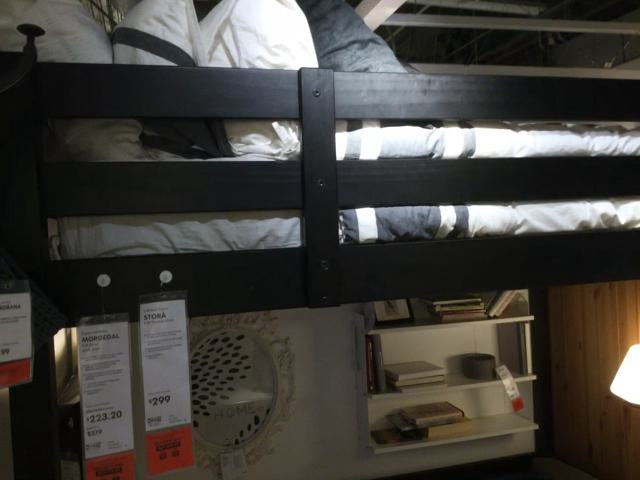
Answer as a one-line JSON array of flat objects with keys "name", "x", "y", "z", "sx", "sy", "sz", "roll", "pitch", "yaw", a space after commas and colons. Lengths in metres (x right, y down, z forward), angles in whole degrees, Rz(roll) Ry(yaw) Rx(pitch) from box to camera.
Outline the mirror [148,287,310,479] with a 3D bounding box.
[{"name": "mirror", "x": -0.360, "y": 0.640, "z": 2.350, "sx": 0.580, "sy": 0.840, "sz": 0.080, "roll": -5, "pitch": 1, "yaw": -12}]

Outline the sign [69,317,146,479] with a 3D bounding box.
[{"name": "sign", "x": -0.340, "y": 0.270, "z": 0.930, "sx": 0.080, "sy": 0.280, "sz": 0.030, "roll": -7, "pitch": 2, "yaw": -12}]

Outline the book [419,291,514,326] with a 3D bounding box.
[{"name": "book", "x": 0.620, "y": 0.290, "z": 2.470, "sx": 0.340, "sy": 0.090, "sz": 0.190, "roll": -5, "pitch": 1, "yaw": -12}]

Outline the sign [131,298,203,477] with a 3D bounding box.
[{"name": "sign", "x": -0.250, "y": 0.240, "z": 0.950, "sx": 0.080, "sy": 0.280, "sz": 0.020, "roll": -7, "pitch": 2, "yaw": -11}]
